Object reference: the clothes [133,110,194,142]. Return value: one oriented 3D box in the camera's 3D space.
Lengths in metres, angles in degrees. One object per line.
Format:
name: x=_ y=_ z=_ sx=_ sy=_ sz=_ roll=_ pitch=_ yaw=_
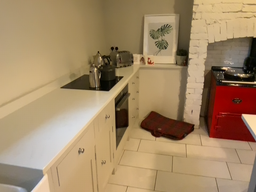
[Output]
clothes: x=0.540 y=0.420 z=3.170 sx=0.760 sy=0.100 sz=0.560 roll=10 pitch=22 yaw=26
